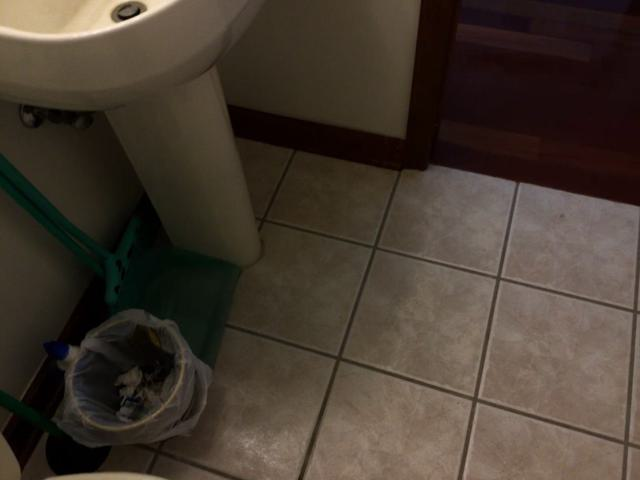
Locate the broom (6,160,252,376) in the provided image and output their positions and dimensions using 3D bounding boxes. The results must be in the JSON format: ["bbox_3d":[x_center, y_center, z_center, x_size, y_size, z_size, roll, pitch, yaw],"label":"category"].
[{"bbox_3d":[-0.370,0.070,1.230,0.310,0.350,0.260,14,63,14],"label":"broom"}]
